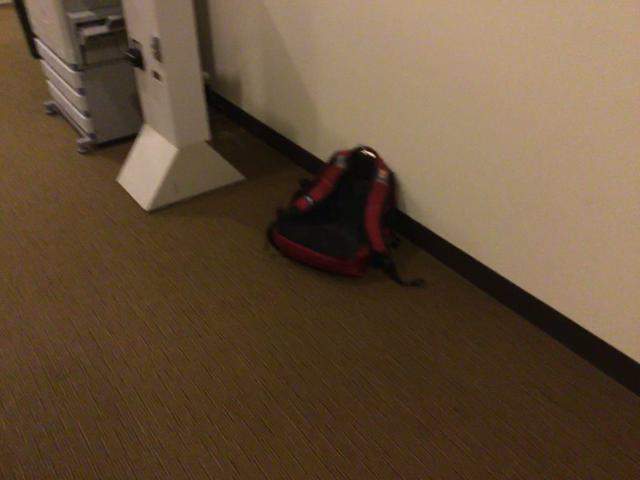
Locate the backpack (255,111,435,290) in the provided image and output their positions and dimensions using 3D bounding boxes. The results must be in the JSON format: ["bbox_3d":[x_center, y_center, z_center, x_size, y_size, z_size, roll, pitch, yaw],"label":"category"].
[{"bbox_3d":[0.100,-0.120,2.010,0.390,0.440,0.300,38,5,14],"label":"backpack"}]
